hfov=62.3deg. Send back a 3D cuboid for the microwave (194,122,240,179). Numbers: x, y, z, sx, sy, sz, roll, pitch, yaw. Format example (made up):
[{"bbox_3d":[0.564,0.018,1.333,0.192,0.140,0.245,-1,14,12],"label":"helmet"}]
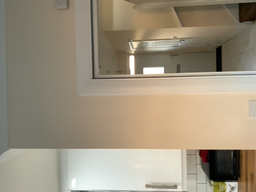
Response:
[{"bbox_3d":[0.840,0.500,2.030,0.290,0.330,0.460,-30,-61,-84],"label":"microwave"}]
